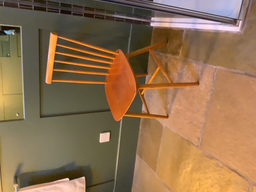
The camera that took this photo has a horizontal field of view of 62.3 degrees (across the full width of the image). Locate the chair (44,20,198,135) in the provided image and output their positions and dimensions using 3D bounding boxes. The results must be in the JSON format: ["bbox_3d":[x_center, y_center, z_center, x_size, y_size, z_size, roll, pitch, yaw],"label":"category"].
[{"bbox_3d":[-0.070,-0.120,1.380,0.410,0.800,0.490,-59,45,44],"label":"chair"}]
